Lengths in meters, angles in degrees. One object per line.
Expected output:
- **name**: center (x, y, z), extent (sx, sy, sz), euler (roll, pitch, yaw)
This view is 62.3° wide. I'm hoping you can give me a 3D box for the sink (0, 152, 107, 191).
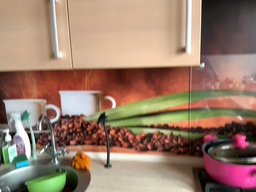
- **sink**: center (-0.420, 0.480, 0.950), extent (0.520, 0.210, 0.520), euler (0, 11, 10)
